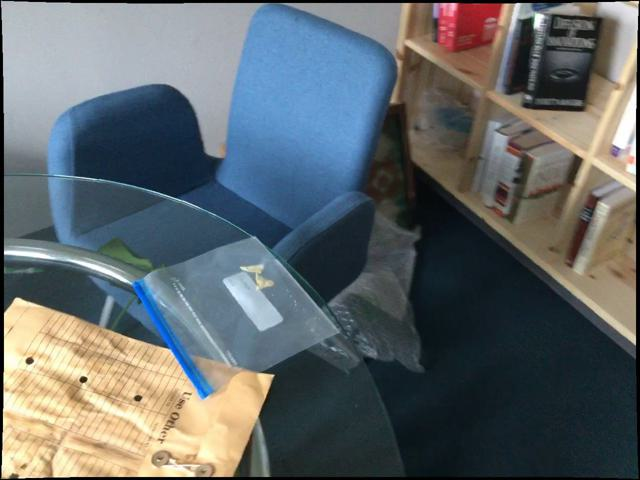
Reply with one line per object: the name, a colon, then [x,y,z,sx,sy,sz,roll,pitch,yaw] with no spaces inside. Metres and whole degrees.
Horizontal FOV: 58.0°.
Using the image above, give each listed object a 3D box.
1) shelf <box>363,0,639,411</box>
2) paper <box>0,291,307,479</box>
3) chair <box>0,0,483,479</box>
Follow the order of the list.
shelf: [0.788,-0.231,1.480,0.479,0.871,1.540,-23,51,-24]
paper: [-0.219,0.200,0.620,0.349,0.020,0.260,14,46,10]
chair: [-0.170,0.000,1.230,0.649,0.771,0.640,26,50,22]
